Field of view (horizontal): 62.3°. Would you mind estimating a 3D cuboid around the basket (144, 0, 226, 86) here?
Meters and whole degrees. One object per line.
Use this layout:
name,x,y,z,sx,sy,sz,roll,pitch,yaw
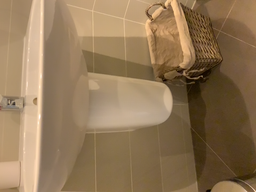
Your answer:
basket,0.260,-0.270,1.020,0.220,0.240,0.380,-27,64,56
